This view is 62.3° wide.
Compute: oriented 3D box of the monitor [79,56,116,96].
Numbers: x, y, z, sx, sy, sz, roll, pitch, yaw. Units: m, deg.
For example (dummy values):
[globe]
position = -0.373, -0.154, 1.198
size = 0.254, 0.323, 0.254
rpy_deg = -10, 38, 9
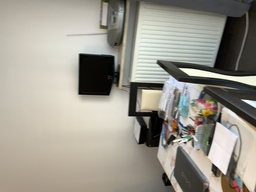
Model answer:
[monitor]
position = -0.320, -0.190, 2.180
size = 0.040, 0.340, 0.450
rpy_deg = -108, 23, -48
